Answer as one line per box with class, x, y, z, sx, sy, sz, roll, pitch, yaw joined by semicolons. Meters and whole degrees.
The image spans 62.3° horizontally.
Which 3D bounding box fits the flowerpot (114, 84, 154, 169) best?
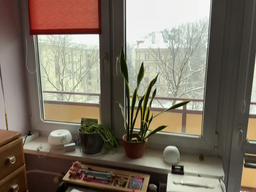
flowerpot;0.040;0.190;1.390;0.220;0.500;0.180;3;12;13
